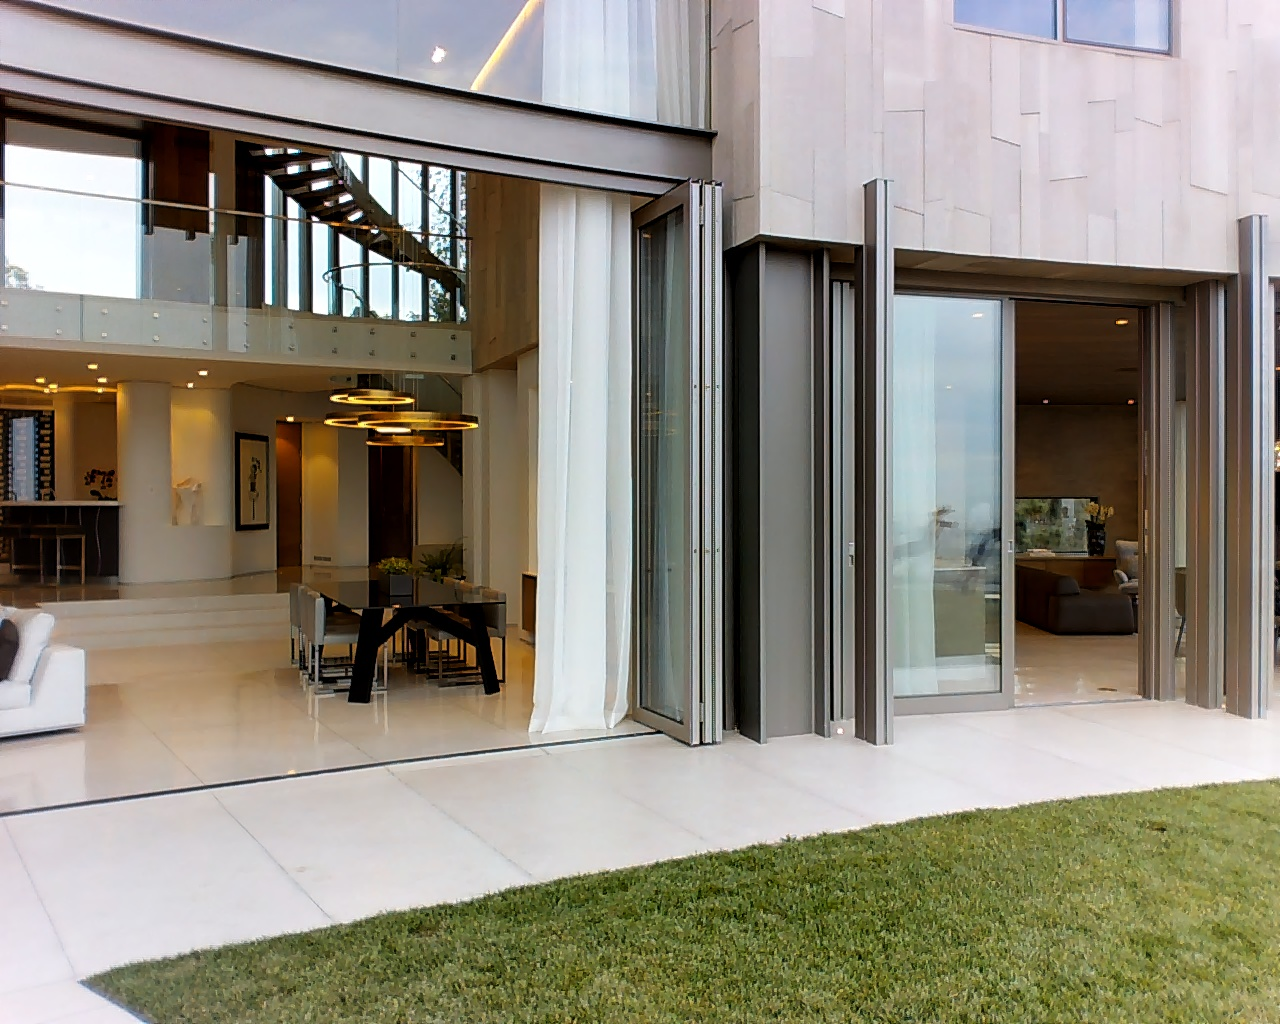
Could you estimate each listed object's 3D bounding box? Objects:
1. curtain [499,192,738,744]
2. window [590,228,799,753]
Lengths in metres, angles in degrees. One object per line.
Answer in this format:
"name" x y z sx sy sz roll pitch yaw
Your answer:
"curtain" -0.190 -0.280 7.560 1.310 3.461 1.240 -1 0 -21
"window" 0.270 -0.130 7.760 0.420 3.090 2.880 -1 0 -19
